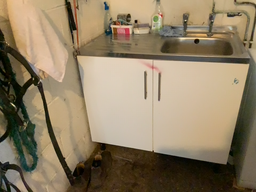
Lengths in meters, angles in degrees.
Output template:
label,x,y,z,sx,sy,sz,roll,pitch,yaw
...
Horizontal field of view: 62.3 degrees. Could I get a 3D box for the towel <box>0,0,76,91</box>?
label,x,y,z,sx,sy,sz,roll,pitch,yaw
towel,-0.380,-0.250,0.940,0.150,0.400,0.200,6,32,16

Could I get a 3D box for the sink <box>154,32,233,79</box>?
label,x,y,z,sx,sy,sz,roll,pitch,yaw
sink,0.430,-0.290,1.410,0.430,0.150,0.410,7,32,17
